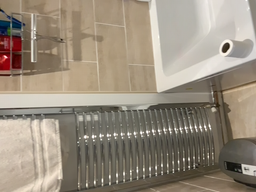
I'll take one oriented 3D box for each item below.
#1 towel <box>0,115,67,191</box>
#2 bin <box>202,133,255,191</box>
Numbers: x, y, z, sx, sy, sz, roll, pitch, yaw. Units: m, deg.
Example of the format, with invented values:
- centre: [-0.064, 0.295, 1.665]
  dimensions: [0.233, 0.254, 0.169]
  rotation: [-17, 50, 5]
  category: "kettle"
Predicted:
- centre: [-0.580, 0.280, 0.880]
  dimensions: [0.100, 0.610, 0.360]
  rotation: [157, 110, -62]
  category: "towel"
- centre: [0.710, 0.330, 1.130]
  dimensions: [0.330, 0.480, 0.230]
  rotation: [158, 109, -63]
  category: "bin"
